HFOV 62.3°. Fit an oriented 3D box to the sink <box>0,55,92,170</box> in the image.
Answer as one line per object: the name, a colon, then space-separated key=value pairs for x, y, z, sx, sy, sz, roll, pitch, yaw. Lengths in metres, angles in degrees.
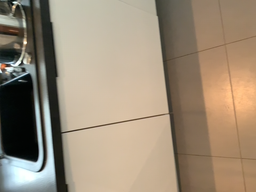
sink: x=-0.430 y=0.080 z=0.990 sx=0.510 sy=0.210 sz=0.400 roll=-9 pitch=86 yaw=42
